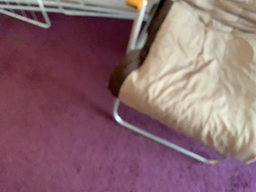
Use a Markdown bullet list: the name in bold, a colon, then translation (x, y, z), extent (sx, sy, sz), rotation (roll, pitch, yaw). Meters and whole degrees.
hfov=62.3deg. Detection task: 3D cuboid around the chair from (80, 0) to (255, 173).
- **chair**: translation (0.320, -0.210, 0.730), extent (0.560, 0.770, 0.720), rotation (26, 71, 6)
